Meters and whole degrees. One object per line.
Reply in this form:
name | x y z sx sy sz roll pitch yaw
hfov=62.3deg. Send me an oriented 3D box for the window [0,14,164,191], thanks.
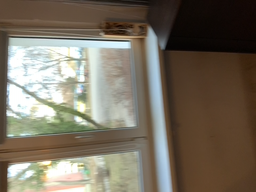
window | -0.370 0.600 1.480 0.160 1.250 2.370 149 118 -72
